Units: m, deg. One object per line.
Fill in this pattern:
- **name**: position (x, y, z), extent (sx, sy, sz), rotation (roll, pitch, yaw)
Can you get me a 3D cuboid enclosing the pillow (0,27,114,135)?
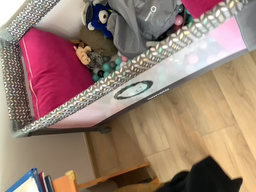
- **pillow**: position (-0.430, -0.120, 1.380), extent (0.300, 0.460, 0.530), rotation (-25, 93, 27)
